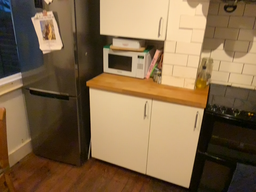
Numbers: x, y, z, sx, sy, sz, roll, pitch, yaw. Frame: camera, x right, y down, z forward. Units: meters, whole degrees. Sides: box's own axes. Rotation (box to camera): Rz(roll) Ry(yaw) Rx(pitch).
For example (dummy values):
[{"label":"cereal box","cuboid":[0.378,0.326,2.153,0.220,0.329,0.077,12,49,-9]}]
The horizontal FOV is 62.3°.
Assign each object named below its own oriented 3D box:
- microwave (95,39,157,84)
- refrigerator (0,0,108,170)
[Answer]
[{"label":"microwave","cuboid":[-0.020,-0.360,2.120,0.540,0.330,0.280,10,25,18]},{"label":"refrigerator","cuboid":[-0.660,-0.270,2.210,0.650,1.840,0.710,11,25,18]}]
